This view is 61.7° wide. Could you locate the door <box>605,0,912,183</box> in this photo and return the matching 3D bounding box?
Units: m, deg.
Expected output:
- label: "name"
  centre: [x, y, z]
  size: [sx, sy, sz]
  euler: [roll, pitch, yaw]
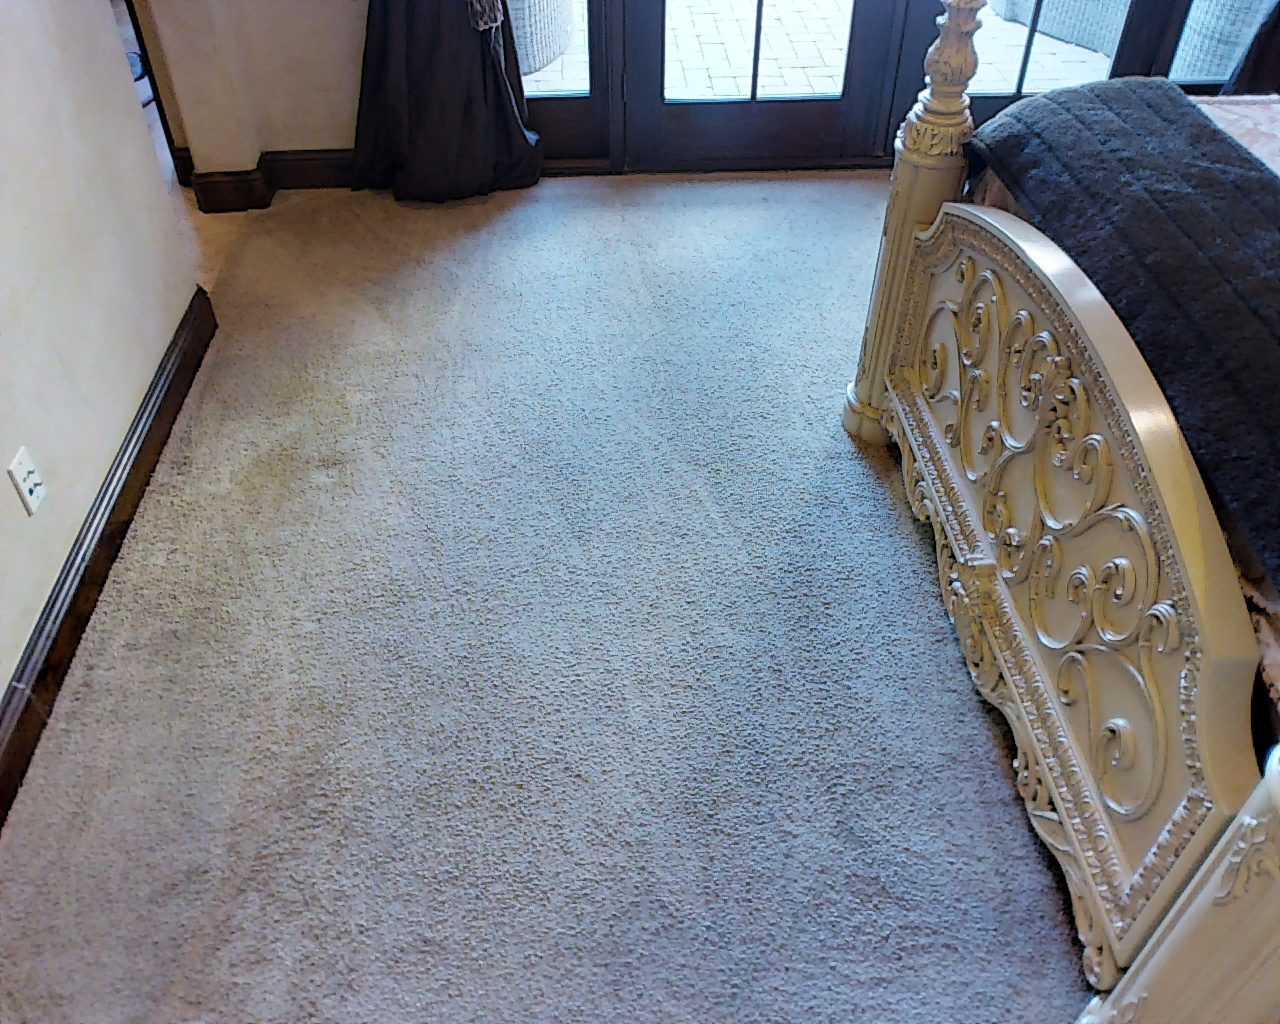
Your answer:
- label: "door"
  centre: [0.370, -2.040, 2.900]
  size: [0.940, 2.350, 0.090]
  euler: [-3, 42, -4]
